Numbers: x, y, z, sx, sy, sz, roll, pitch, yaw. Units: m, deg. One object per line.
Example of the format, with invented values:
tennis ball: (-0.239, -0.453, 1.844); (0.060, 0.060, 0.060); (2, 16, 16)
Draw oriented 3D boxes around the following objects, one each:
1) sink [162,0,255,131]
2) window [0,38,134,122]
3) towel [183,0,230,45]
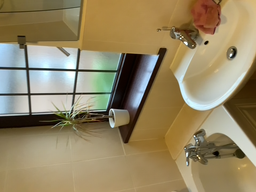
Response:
sink: (0.420, -0.180, 0.980); (0.540, 0.190, 0.430); (110, 150, -42)
window: (-0.480, -0.070, 1.460); (0.040, 0.940, 0.640); (-113, 31, -44)
towel: (0.340, -0.350, 0.950); (0.170, 0.050, 0.170); (110, 150, -42)
